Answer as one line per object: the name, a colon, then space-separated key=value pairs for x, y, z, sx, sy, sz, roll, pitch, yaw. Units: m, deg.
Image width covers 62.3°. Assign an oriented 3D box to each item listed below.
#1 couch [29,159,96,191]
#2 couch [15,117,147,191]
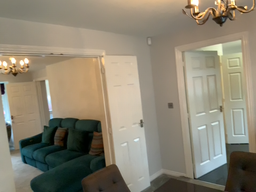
couch: x=-0.940 y=1.280 z=3.060 sx=0.680 sy=0.440 sz=0.630 roll=-3 pitch=5 yaw=42
couch: x=-1.150 y=1.000 z=4.320 sx=2.960 sy=0.890 sz=1.010 roll=-3 pitch=5 yaw=42
